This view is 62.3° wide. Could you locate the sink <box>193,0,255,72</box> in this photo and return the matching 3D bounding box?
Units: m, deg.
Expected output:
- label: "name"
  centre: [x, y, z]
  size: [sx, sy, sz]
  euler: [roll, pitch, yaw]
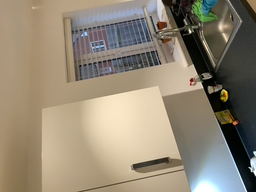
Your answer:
- label: "sink"
  centre: [0.710, -0.500, 1.530]
  size: [0.510, 0.250, 0.380]
  euler: [83, 175, -61]
